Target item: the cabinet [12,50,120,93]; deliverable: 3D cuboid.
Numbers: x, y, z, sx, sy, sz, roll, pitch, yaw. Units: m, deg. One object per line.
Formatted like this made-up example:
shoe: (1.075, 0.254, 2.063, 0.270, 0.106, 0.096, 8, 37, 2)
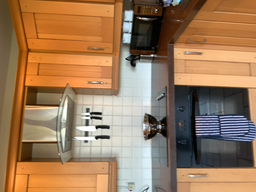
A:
cabinet: (-0.530, -0.210, 1.950, 0.290, 0.880, 0.290, 123, 148, -78)
